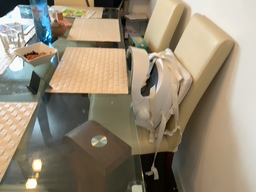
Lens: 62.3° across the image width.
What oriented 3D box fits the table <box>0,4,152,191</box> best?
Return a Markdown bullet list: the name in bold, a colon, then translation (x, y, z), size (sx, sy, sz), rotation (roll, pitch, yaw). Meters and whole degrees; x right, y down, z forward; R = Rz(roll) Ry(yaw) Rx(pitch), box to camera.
- **table**: translation (-0.480, 0.010, 1.440), size (0.920, 0.760, 1.730), rotation (1, 36, -6)
